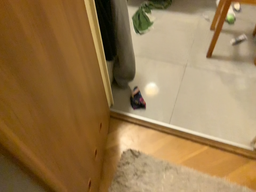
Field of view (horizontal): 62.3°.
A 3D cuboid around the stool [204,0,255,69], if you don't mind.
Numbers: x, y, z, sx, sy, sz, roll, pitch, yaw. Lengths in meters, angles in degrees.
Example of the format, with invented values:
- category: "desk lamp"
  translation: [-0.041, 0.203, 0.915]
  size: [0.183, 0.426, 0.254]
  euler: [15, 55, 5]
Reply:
- category: "stool"
  translation: [0.680, -0.490, 1.180]
  size: [0.340, 0.590, 0.310]
  euler: [13, 55, 13]
